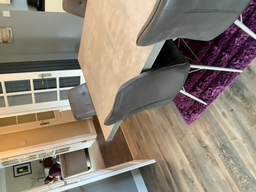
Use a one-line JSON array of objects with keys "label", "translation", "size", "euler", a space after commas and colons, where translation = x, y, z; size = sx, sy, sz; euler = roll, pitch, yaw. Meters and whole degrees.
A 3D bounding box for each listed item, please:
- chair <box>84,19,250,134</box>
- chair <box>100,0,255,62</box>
[{"label": "chair", "translation": [0.230, -0.170, 1.470], "size": [0.530, 0.900, 0.440], "euler": [64, 148, 32]}, {"label": "chair", "translation": [0.400, -0.530, 1.000], "size": [0.530, 0.920, 0.440], "euler": [64, 148, 32]}]
